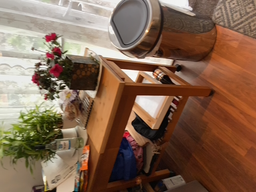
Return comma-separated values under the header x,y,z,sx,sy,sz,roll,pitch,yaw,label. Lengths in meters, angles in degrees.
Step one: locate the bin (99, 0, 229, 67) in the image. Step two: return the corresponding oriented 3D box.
x,y,z,sx,sy,sz,roll,pitch,yaw,label
0.250,-0.470,1.470,0.400,0.730,0.350,46,126,45,bin
